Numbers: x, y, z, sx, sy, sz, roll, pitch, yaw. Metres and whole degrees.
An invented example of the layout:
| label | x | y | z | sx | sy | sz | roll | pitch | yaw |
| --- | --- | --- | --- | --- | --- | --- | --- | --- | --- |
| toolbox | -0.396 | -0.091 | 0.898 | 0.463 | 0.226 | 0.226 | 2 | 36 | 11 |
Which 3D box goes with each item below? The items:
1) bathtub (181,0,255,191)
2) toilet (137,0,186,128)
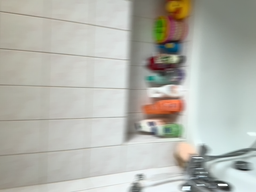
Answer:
| label | x | y | z | sx | sy | sz | roll | pitch | yaw |
| --- | --- | --- | --- | --- | --- | --- | --- | --- | --- |
| bathtub | 0.770 | -0.230 | 1.100 | 0.690 | 0.610 | 1.390 | -173 | 84 | -65 |
| toilet | 0.210 | -0.290 | 1.360 | 0.200 | 0.200 | 0.950 | -170 | 82 | -65 |
